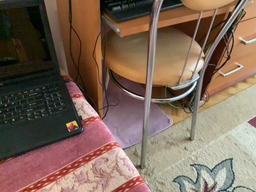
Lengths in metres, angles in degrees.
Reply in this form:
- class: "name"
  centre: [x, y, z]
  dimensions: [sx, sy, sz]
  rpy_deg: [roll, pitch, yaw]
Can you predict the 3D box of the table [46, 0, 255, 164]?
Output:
- class: "table"
  centre: [0.050, -0.230, 0.970]
  dimensions: [0.610, 0.750, 0.540]
  rpy_deg: [-22, 52, -25]
